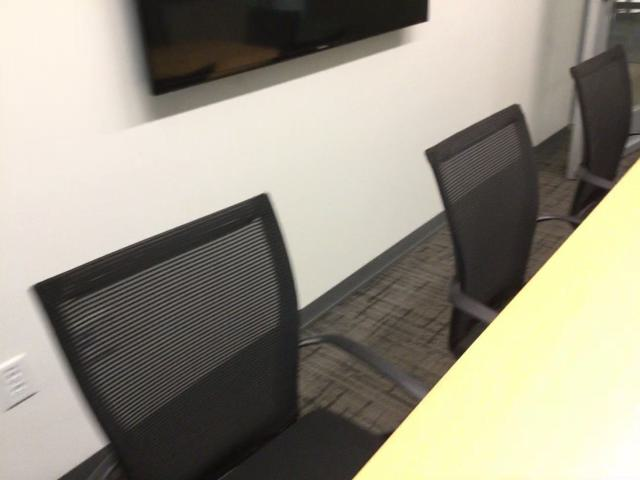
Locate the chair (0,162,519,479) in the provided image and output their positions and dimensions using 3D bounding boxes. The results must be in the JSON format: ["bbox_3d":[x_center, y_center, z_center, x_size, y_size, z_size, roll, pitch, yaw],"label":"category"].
[{"bbox_3d":[-0.090,0.440,1.000,0.590,0.930,0.560,18,36,39],"label":"chair"}]

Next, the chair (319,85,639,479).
[{"bbox_3d":[0.500,0.170,1.360,0.690,0.870,0.610,18,36,39],"label":"chair"}]
